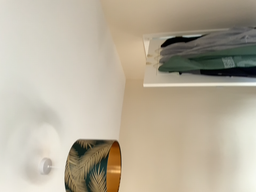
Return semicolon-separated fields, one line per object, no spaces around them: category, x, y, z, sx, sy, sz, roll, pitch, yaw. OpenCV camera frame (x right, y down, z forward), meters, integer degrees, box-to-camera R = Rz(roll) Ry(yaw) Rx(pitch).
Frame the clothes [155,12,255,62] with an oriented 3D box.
clothes;0.870;-0.570;2.030;0.250;1.180;0.390;78;-163;-45

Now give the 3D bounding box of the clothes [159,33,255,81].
clothes;0.870;-0.330;1.790;0.260;1.180;0.280;77;-162;-47
